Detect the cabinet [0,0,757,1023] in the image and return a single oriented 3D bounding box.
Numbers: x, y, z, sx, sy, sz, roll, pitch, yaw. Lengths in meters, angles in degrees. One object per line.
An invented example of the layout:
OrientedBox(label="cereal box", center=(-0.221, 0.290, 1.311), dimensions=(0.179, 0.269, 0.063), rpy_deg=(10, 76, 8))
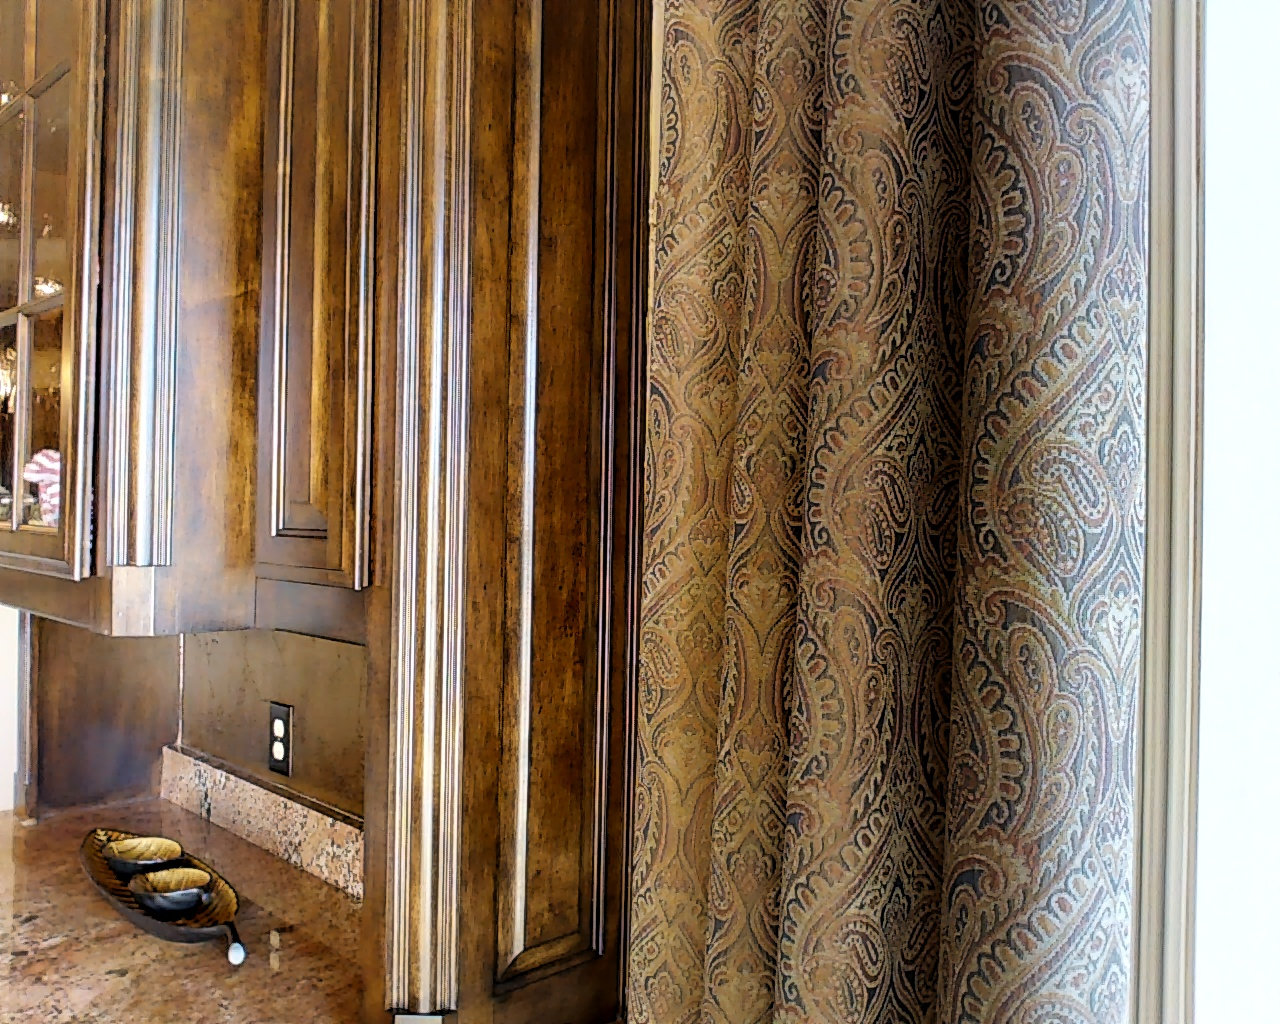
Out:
OrientedBox(label="cabinet", center=(-0.630, 0.160, 1.520), dimensions=(0.590, 2.781, 1.520), rpy_deg=(1, 0, -45))
